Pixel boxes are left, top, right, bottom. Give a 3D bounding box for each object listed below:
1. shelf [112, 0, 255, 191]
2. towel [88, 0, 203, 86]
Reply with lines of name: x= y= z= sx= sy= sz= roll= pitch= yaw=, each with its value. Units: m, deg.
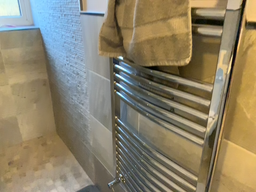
shelf: x=0.110 y=0.270 z=0.830 sx=0.080 sy=1.390 sz=0.490 roll=-15 pitch=29 yaw=-31
towel: x=0.030 y=-0.240 z=0.650 sx=0.170 sy=0.310 sz=0.330 roll=-16 pitch=28 yaw=-32
